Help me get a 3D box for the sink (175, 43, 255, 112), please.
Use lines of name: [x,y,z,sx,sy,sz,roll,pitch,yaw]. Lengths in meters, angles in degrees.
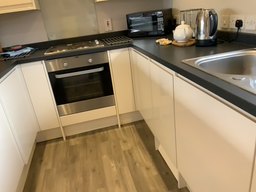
sink: [0.580,-0.130,1.110,0.520,0.160,0.420,-11,23,-10]
